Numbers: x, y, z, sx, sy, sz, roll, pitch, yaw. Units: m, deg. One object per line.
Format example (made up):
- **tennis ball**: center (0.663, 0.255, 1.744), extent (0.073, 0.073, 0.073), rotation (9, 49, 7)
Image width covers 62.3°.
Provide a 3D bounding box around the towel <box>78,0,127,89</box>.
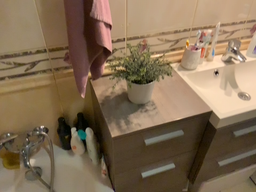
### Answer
- **towel**: center (-0.090, -0.350, 0.660), extent (0.130, 0.680, 0.170), rotation (-11, 42, -14)
